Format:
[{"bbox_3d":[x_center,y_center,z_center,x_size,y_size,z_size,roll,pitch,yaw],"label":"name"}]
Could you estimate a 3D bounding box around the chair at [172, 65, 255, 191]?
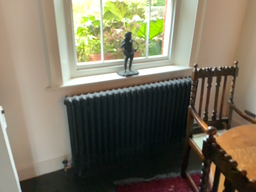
[{"bbox_3d":[0.710,0.310,1.700,0.450,1.000,0.490,-2,25,-8],"label":"chair"}]
